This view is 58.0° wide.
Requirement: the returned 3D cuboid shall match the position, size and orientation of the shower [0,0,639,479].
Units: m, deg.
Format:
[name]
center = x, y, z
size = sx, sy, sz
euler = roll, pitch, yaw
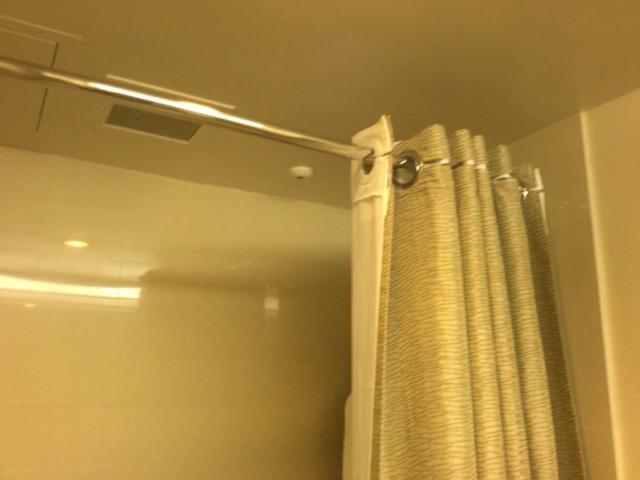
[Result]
[shower]
center = -0.320, 0.600, 0.960
size = 1.510, 1.820, 0.890
euler = 7, -17, -27
